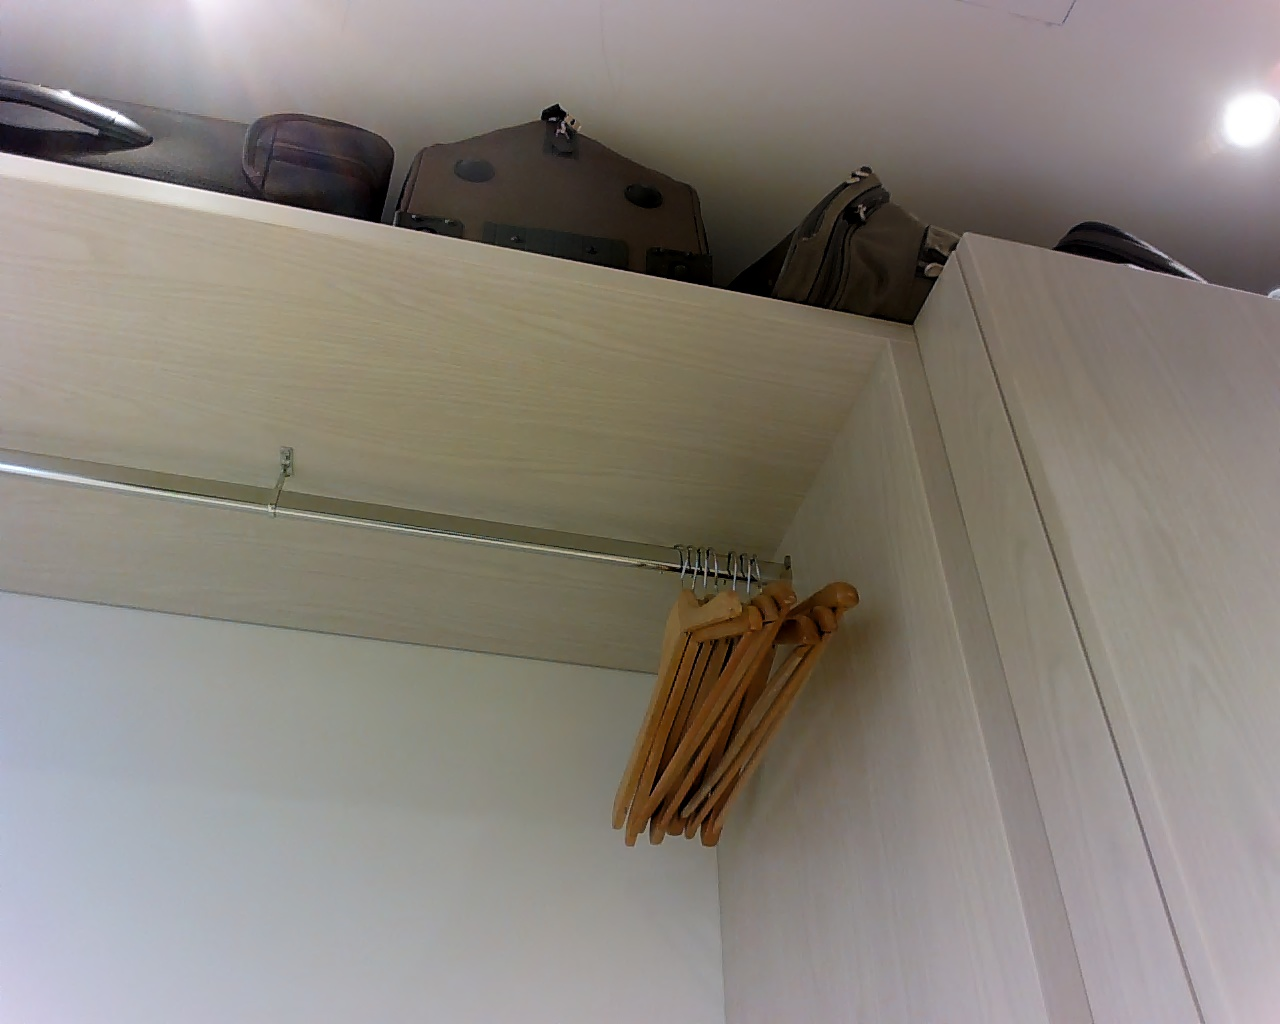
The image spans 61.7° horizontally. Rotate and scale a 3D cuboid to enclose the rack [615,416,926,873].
[{"bbox_3d":[0.100,0.160,1.090,0.150,0.220,0.480,9,-41,-10],"label":"rack"}]
